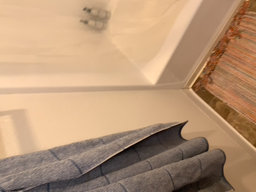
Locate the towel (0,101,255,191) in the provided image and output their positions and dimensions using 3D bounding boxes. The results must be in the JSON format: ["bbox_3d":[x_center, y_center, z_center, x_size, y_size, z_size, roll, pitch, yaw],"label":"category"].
[{"bbox_3d":[0.030,0.260,0.620,0.520,1.050,0.130,50,128,36],"label":"towel"}]
